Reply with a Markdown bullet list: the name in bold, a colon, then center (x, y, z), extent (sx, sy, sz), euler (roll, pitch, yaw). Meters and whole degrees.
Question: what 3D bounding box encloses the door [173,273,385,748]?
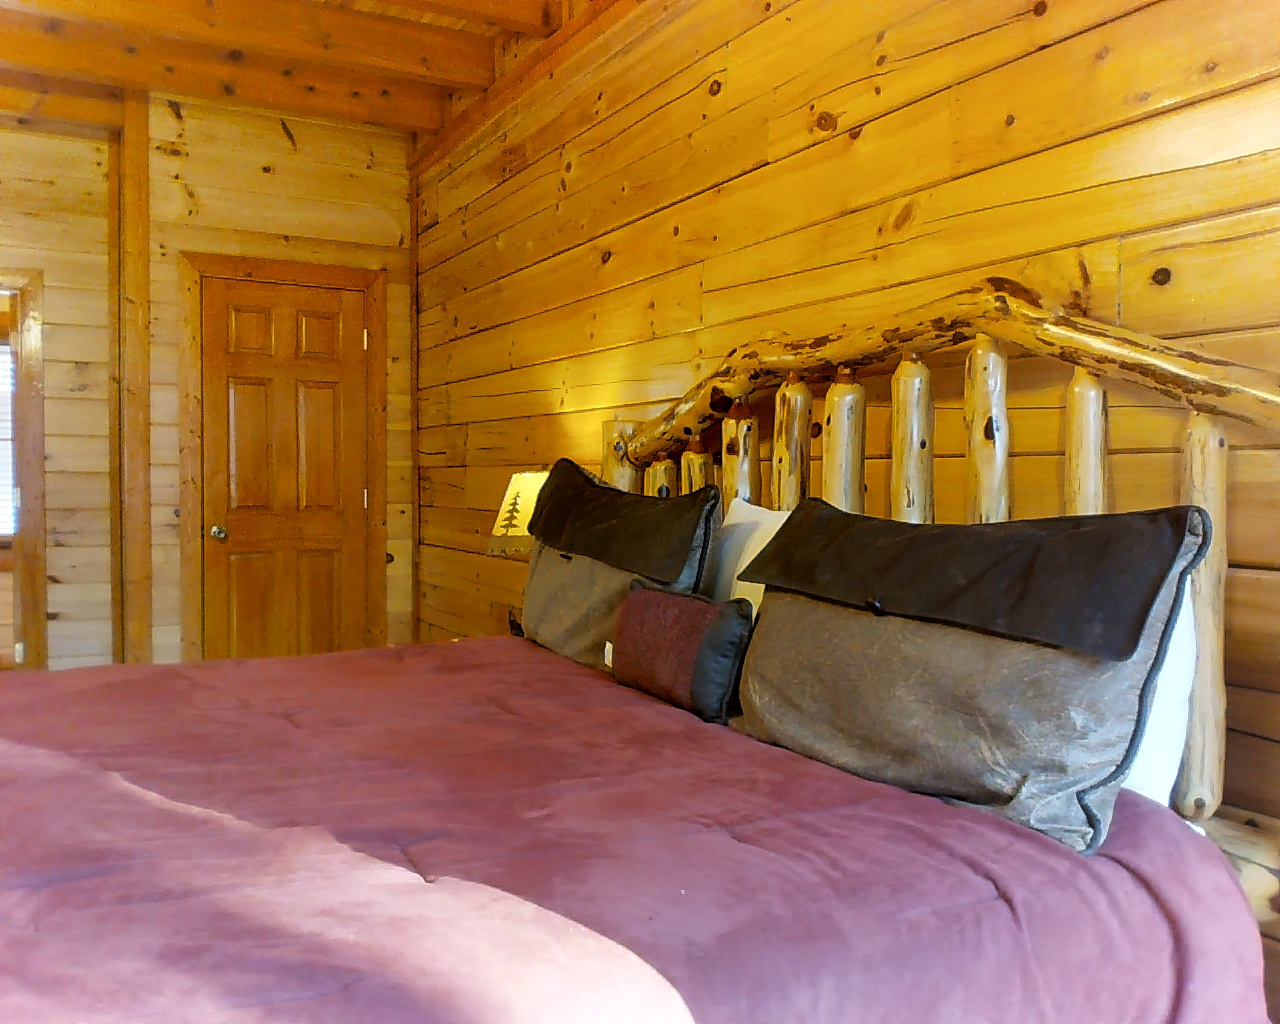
- **door**: center (-1.609, -0.010, 4.870), extent (0.870, 2.051, 0.050), euler (-2, 3, -28)
